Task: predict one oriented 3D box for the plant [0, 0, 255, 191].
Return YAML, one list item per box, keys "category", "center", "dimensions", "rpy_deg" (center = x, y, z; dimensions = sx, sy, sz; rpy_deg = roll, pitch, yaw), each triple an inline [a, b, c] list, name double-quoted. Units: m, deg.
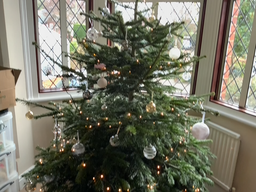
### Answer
- category: "plant"
  center: [-0.030, 0.210, 1.700]
  dimensions: [1.470, 1.760, 1.260]
  rpy_deg: [5, 16, 9]
